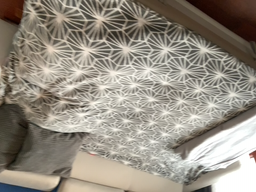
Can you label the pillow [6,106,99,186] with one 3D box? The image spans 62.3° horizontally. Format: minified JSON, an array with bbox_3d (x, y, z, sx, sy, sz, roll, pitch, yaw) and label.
[{"bbox_3d":[-0.550,0.400,1.590,0.470,0.320,0.420,30,133,-24],"label":"pillow"}]
